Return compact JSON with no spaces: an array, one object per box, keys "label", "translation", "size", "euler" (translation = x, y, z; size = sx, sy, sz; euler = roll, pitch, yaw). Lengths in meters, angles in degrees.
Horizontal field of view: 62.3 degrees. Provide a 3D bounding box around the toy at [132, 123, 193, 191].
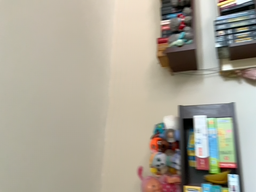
[{"label":"toy","translation":[0.190,0.480,1.130],"size":[0.220,0.270,0.620],"euler":[41,-131,-57]}]
